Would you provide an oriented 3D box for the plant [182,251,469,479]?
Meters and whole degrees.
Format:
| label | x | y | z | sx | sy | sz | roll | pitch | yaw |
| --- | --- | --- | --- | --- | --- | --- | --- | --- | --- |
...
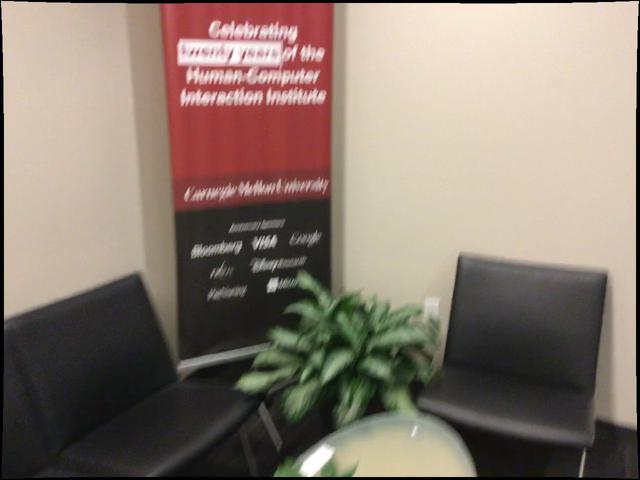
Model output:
| label | x | y | z | sx | sy | sz | roll | pitch | yaw |
| --- | --- | --- | --- | --- | --- | --- | --- | --- | --- |
| plant | 0.070 | 0.461 | 2.200 | 0.789 | 0.551 | 0.740 | 4 | 22 | 29 |

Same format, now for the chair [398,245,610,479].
| label | x | y | z | sx | sy | sz | roll | pitch | yaw |
| --- | --- | --- | --- | --- | --- | --- | --- | --- | --- |
| chair | 0.698 | 0.391 | 2.100 | 0.579 | 0.481 | 0.710 | 4 | 22 | 29 |

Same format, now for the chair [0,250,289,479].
| label | x | y | z | sx | sy | sz | roll | pitch | yaw |
| --- | --- | --- | --- | --- | --- | --- | --- | --- | --- |
| chair | -0.599 | 0.521 | 2.050 | 0.679 | 0.762 | 0.590 | 4 | 22 | 28 |
